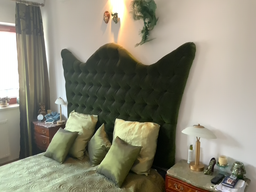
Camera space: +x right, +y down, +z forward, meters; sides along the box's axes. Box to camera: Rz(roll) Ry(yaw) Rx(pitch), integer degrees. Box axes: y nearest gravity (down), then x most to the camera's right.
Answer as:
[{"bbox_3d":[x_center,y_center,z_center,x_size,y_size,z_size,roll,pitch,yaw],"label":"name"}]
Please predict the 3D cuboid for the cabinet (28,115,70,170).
[{"bbox_3d":[-1.270,0.720,3.420,0.510,0.690,0.390,8,12,39],"label":"cabinet"}]
